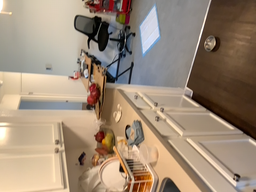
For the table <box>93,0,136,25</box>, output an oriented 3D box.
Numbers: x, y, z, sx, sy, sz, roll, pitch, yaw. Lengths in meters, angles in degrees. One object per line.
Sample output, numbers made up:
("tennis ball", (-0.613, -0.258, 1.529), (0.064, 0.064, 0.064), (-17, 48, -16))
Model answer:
("table", (-0.260, -1.780, 4.080), (0.360, 0.710, 0.650), (-134, 49, -61))
